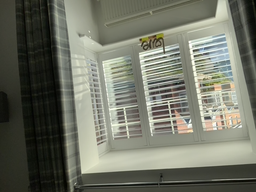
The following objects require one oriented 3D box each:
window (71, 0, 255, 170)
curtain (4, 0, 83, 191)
[{"bbox_3d":[0.390,-0.150,2.380,1.910,1.750,0.350,-9,176,17],"label":"window"},{"bbox_3d":[-0.740,-0.120,1.820,0.430,2.190,0.170,-9,176,14],"label":"curtain"}]
